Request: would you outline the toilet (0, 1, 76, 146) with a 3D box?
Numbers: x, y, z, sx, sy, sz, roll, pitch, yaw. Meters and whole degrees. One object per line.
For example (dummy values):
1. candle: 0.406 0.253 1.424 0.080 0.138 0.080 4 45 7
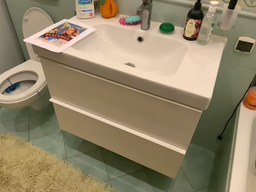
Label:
1. toilet: -0.740 -0.150 1.540 0.340 0.820 0.560 19 45 17
